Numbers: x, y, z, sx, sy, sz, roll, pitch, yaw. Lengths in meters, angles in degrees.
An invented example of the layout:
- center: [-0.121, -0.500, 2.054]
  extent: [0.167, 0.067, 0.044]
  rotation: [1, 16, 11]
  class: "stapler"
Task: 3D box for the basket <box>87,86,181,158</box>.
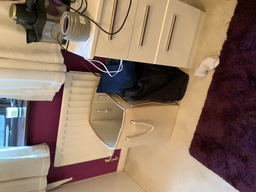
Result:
- center: [0.030, 0.150, 1.550]
  extent: [0.430, 0.470, 0.330]
  rotation: [28, 112, 49]
  class: "basket"
